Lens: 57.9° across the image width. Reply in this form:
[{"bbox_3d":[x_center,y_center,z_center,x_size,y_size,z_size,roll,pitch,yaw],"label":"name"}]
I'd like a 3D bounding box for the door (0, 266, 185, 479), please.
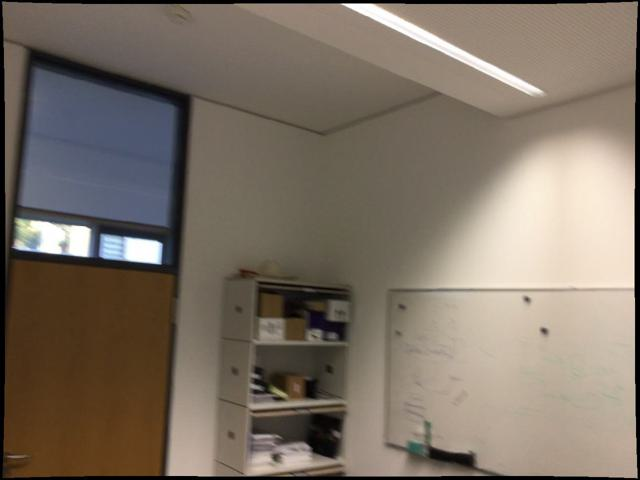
[{"bbox_3d":[-1.329,1.191,3.290,0.989,2.022,0.160,6,-7,-34],"label":"door"}]

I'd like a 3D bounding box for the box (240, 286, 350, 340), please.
[{"bbox_3d":[-0.140,0.470,3.690,0.759,0.320,0.080,6,-7,-34],"label":"box"}]

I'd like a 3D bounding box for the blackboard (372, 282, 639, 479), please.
[{"bbox_3d":[0.969,0.691,2.780,0.170,0.961,1.999,6,-7,-34],"label":"blackboard"}]
